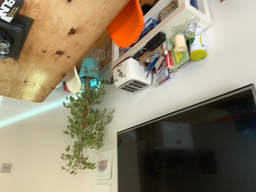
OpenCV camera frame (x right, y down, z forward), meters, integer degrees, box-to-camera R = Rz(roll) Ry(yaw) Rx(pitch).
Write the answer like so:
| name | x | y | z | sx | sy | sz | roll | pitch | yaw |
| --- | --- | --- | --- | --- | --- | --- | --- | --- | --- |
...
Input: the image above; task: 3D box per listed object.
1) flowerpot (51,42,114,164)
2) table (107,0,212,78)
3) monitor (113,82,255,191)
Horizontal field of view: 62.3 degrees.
| name | x | y | z | sx | sy | sz | roll | pitch | yaw |
| --- | --- | --- | --- | --- | --- | --- | --- | --- | --- |
| flowerpot | -0.520 | 0.110 | 2.530 | 0.460 | 1.290 | 0.550 | 15 | 153 | -32 |
| table | 0.190 | -0.570 | 1.780 | 0.290 | 0.450 | 0.910 | 18 | 151 | -30 |
| monitor | 0.260 | 0.470 | 1.340 | 0.080 | 0.730 | 1.210 | 15 | 153 | -32 |
